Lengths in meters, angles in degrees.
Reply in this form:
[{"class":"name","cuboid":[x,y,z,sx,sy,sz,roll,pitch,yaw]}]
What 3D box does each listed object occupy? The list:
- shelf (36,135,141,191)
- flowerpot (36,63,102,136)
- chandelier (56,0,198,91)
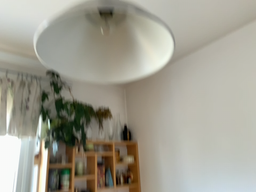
[{"class":"shelf","cuboid":[-0.300,0.700,1.910,0.950,0.630,0.170,12,-24,-39]},{"class":"flowerpot","cuboid":[-0.510,0.060,1.890,0.470,0.530,0.280,13,-25,-41]},{"class":"chandelier","cuboid":[-0.090,-0.410,0.830,0.320,0.640,0.310,-23,-13,-17]}]
